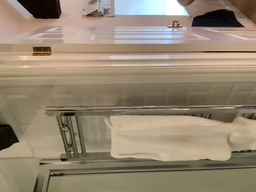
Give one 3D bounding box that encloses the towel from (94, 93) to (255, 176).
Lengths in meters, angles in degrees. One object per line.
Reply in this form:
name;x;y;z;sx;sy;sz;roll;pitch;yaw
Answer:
towel;0.330;0.200;1.050;0.410;0.950;0.180;94;173;-46
